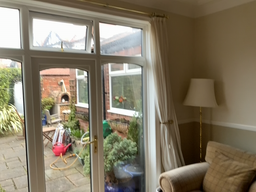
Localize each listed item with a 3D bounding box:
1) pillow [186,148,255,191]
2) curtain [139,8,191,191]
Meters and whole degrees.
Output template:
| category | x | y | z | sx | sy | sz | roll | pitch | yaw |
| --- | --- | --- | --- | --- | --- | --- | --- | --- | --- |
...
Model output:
| category | x | y | z | sx | sy | sz | roll | pitch | yaw |
| --- | --- | --- | --- | --- | --- | --- | --- | --- | --- |
| pillow | 0.990 | 0.900 | 2.290 | 0.220 | 0.510 | 0.490 | 46 | -21 | -29 |
| curtain | 0.540 | 0.170 | 3.010 | 0.710 | 2.590 | 0.240 | -3 | 4 | -28 |
